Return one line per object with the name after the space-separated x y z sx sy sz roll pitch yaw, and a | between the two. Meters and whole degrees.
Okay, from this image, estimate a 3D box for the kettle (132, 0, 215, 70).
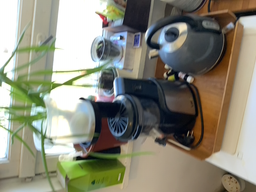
0.150 -0.190 0.710 0.160 0.190 0.170 16 100 52 | kettle
